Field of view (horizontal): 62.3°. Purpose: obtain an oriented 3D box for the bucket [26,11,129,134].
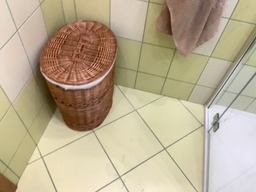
[{"bbox_3d":[-0.260,-0.130,1.310,0.380,0.520,0.440,16,53,5],"label":"bucket"}]
